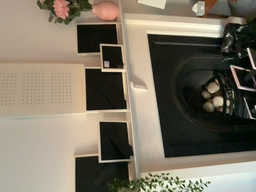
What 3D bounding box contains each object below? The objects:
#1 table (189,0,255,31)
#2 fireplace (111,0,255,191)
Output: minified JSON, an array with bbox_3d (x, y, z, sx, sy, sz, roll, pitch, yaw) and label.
[{"bbox_3d":[0.910,-0.900,2.040,0.420,0.430,0.300,124,144,-66],"label":"table"},{"bbox_3d":[0.570,-0.030,1.750,0.660,1.240,1.570,126,142,-66],"label":"fireplace"}]
